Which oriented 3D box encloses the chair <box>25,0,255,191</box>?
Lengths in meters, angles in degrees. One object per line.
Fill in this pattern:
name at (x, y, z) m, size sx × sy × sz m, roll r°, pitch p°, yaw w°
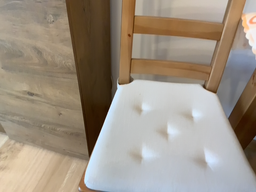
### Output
chair at (0.130, 0.060, 0.650) m, size 0.440 × 0.970 × 0.510 m, roll 7°, pitch 43°, yaw 3°
